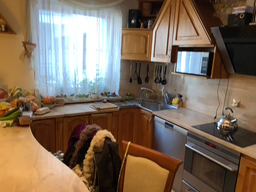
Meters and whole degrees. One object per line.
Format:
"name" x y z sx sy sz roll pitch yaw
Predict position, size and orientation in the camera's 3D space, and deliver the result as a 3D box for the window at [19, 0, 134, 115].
"window" -0.630 -0.670 2.900 1.490 1.750 0.130 -3 13 -31
